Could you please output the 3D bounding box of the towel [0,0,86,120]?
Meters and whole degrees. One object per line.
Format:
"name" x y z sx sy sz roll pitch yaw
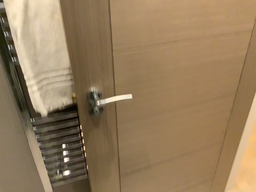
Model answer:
"towel" -0.270 -0.150 0.700 0.190 0.420 0.150 -10 33 -15

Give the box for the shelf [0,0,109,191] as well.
"shelf" -0.300 -0.030 0.810 0.370 1.510 0.090 -10 33 -15
